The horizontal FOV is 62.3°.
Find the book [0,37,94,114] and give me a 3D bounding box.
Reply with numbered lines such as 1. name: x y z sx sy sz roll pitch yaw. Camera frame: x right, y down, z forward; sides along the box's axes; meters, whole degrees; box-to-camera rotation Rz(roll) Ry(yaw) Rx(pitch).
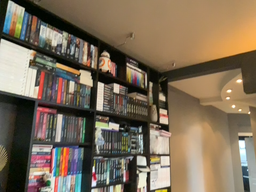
1. book: -0.610 -0.100 1.540 0.180 0.350 0.760 -10 -18 39

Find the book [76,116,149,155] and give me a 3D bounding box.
1. book: -0.110 0.410 2.100 0.210 0.320 0.790 -10 -18 39

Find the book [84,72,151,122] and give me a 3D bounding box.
1. book: -0.070 0.050 2.160 0.190 0.350 0.780 -10 -18 39

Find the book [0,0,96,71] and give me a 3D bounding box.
1. book: -0.590 -0.440 1.620 0.150 0.270 0.760 -10 -18 39

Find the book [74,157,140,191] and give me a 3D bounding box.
1. book: -0.160 0.760 1.950 0.190 0.360 0.650 -10 -18 39

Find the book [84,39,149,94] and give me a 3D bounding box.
1. book: -0.090 -0.280 2.290 0.250 0.330 0.760 -10 -18 38
